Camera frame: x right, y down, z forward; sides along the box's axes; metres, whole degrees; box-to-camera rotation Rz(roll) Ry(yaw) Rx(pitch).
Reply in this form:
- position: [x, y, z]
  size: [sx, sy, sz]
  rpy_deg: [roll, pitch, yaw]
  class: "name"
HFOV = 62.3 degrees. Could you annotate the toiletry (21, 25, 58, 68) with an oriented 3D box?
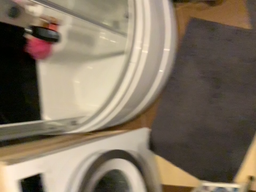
- position: [-0.510, -0.280, 1.220]
  size: [0.090, 0.100, 0.210]
  rpy_deg: [46, 114, 24]
  class: "toiletry"
